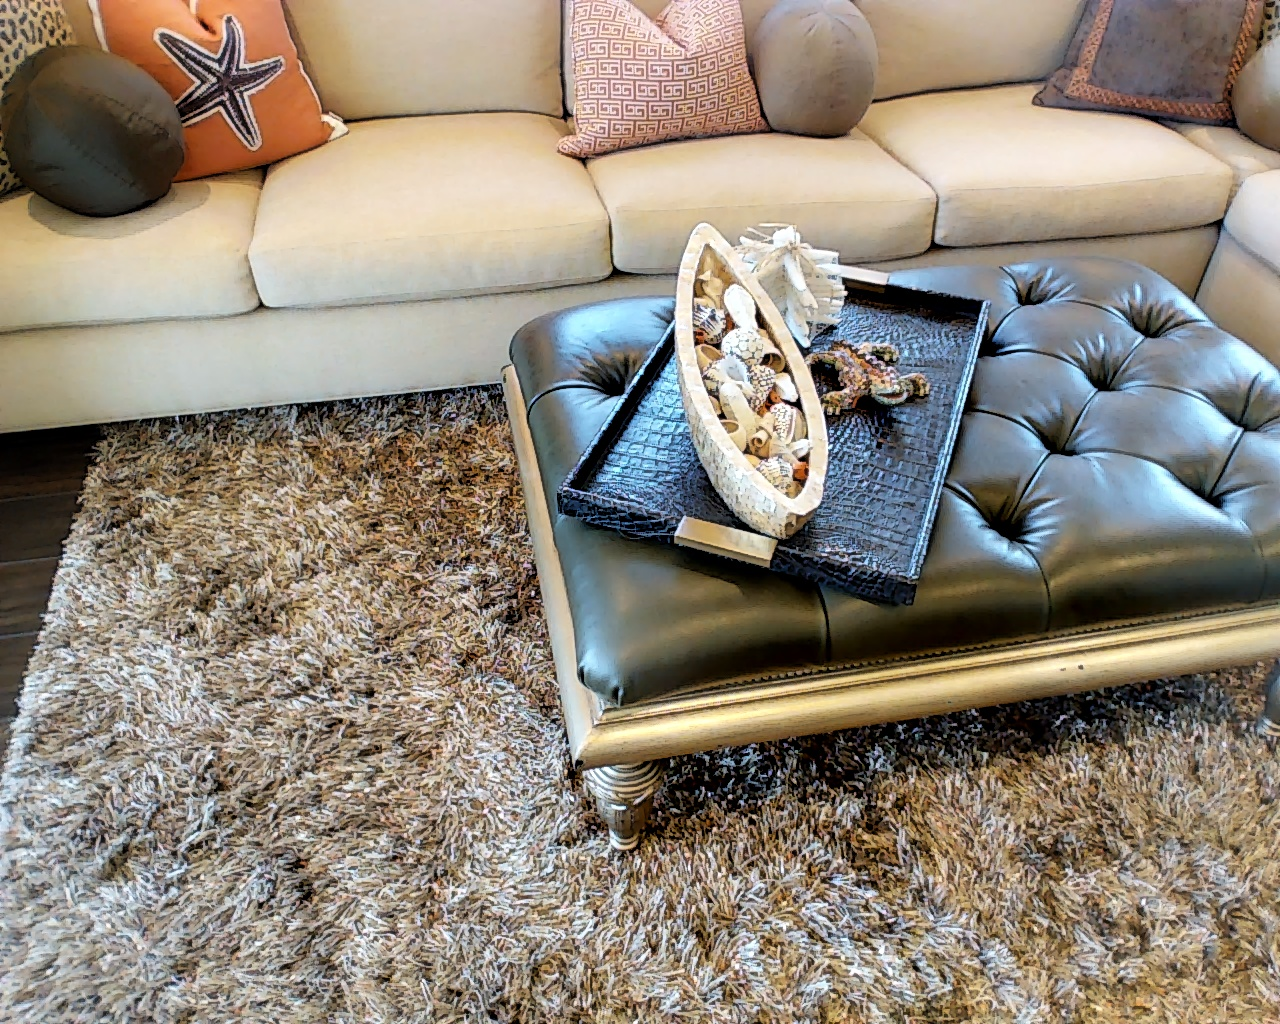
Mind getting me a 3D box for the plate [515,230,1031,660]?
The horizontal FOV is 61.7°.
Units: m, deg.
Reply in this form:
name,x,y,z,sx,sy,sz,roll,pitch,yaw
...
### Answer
name,x,y,z,sx,sy,sz,roll,pitch,yaw
plate,0.250,-0.170,1.610,0.570,0.060,0.830,14,43,15
